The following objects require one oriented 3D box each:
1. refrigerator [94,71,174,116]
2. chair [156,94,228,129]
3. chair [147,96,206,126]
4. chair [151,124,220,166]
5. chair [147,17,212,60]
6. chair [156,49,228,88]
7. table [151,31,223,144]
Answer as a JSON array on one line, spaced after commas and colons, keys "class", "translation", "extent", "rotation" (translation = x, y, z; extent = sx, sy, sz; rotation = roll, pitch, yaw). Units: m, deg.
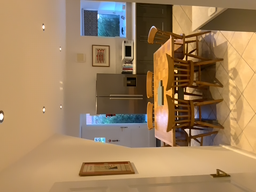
[{"class": "refrigerator", "translation": [0.110, -0.060, 5.040], "extent": [0.690, 1.770, 0.970], "rotation": [167, 102, -82]}, {"class": "chair", "translation": [0.880, 0.210, 3.030], "extent": [0.550, 0.820, 0.440], "rotation": [164, 105, -82]}, {"class": "chair", "translation": [0.800, 0.280, 3.670], "extent": [0.590, 0.810, 0.450], "rotation": [130, 139, -78]}, {"class": "chair", "translation": [0.840, 0.720, 3.230], "extent": [0.540, 0.850, 0.440], "rotation": [-142, 52, -80]}, {"class": "chair", "translation": [0.790, -0.890, 3.400], "extent": [0.520, 0.880, 0.510], "rotation": [168, 101, -82]}, {"class": "chair", "translation": [0.870, -0.370, 3.030], "extent": [0.560, 0.820, 0.490], "rotation": [-160, 70, -82]}, {"class": "table", "translation": [0.870, -0.110, 3.380], "extent": [0.940, 0.750, 1.530], "rotation": [164, 105, -82]}]
